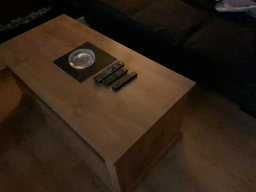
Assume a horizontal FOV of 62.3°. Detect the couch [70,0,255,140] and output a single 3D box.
[{"bbox_3d":[0.560,-0.840,1.860,1.170,0.910,2.190,-37,56,-26],"label":"couch"}]
